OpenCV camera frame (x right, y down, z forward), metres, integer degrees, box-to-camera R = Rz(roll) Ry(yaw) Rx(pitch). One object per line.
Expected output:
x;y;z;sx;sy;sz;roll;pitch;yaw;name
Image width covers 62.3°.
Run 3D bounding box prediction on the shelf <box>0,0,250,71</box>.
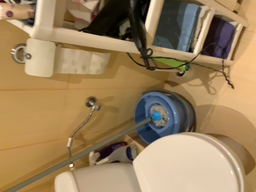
0.090;-0.290;0.830;0.370;0.990;0.230;30;113;40;shelf
